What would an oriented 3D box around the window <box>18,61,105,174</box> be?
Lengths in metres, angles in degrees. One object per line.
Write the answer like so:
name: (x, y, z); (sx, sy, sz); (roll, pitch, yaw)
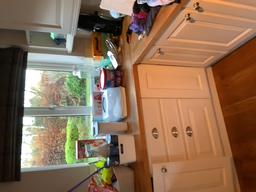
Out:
window: (-0.730, 0.180, 2.380); (0.050, 0.850, 1.210); (134, 133, -63)
